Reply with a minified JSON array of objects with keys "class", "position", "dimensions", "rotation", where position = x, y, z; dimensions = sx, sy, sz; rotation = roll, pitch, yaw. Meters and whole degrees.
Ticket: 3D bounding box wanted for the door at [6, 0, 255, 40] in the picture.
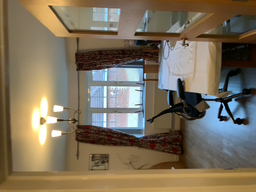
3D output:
[{"class":"door","position":[0.490,-0.500,1.240],"dimensions":[0.970,1.990,0.180],"rotation":[-123,34,-80]}]
